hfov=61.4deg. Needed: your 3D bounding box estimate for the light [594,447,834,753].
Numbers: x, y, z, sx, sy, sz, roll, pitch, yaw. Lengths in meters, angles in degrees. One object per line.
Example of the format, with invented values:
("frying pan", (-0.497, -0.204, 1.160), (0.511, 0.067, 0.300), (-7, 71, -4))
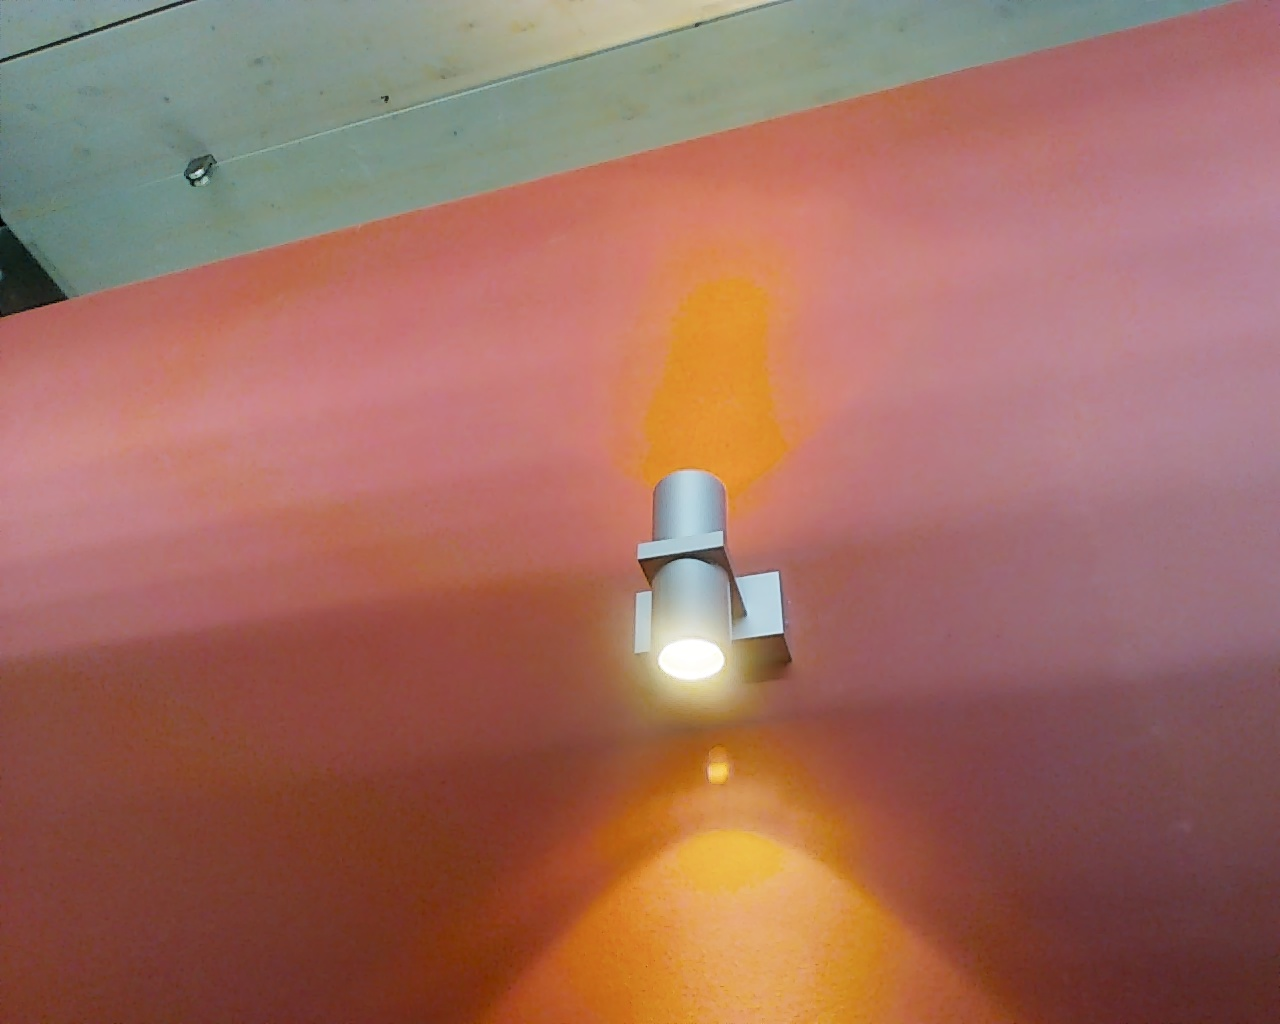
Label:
("light", (0.060, 0.070, 0.850), (0.150, 0.180, 0.130), (-10, -43, 13))
